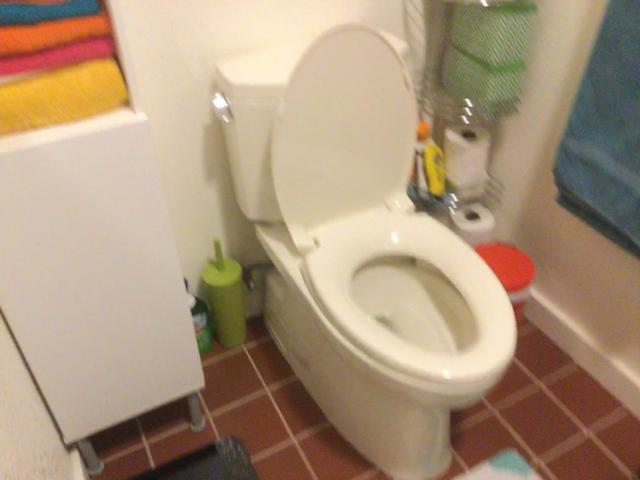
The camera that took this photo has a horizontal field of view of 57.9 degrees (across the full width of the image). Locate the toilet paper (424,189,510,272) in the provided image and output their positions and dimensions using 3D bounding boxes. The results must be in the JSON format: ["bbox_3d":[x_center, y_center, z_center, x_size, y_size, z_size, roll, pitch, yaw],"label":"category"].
[{"bbox_3d":[0.410,-0.030,1.630,0.150,0.140,0.160,-16,38,-22],"label":"toilet paper"}]

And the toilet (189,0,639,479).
[{"bbox_3d":[0.100,0.030,1.200,0.450,0.860,0.700,-16,38,-22],"label":"toilet"}]
